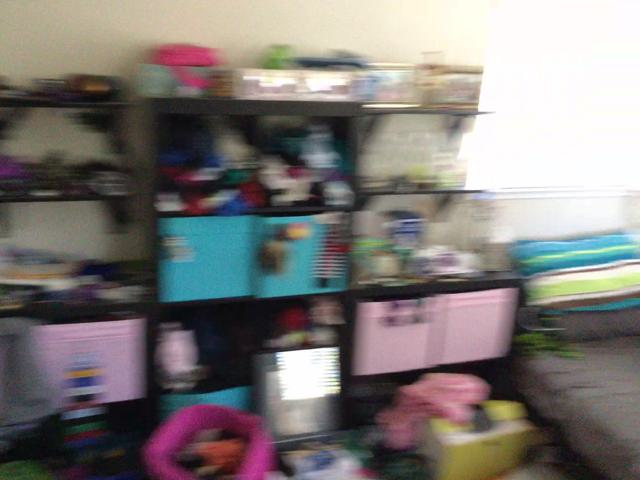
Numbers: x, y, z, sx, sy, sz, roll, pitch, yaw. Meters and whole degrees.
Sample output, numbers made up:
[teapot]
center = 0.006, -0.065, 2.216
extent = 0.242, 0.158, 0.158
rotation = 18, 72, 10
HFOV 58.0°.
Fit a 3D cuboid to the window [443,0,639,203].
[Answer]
[window]
center = 1.210, -0.690, 2.680
extent = 1.140, 0.980, 0.270
rotation = 1, 12, -14
